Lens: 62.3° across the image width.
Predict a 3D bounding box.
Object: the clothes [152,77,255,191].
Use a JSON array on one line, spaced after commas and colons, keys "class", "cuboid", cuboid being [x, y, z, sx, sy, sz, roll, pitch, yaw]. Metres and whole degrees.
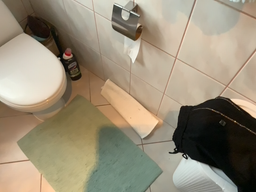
[{"class": "clothes", "cuboid": [0.360, 0.260, 0.980, 0.290, 0.580, 0.340, 32, 65, 14]}]
